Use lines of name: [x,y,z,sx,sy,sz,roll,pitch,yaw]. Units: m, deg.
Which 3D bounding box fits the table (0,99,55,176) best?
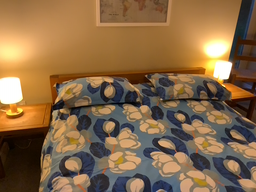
table: [-0.940,0.350,1.930,0.470,0.450,0.480,-4,26,-15]
